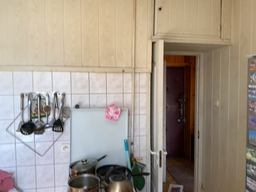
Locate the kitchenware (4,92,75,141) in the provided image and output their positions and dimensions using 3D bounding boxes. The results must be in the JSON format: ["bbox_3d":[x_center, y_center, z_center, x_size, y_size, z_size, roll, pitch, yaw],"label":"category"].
[{"bbox_3d":[-0.720,0.160,1.760,0.530,0.390,0.070,0,4,-11],"label":"kitchenware"}]
